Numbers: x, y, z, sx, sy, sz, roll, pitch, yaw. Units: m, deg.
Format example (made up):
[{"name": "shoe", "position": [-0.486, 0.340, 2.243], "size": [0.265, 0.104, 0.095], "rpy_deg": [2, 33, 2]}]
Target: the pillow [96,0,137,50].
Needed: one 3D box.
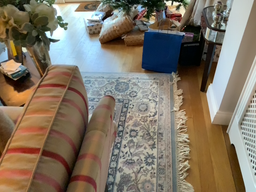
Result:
[{"name": "pillow", "position": [-0.160, -0.920, 2.750], "size": [0.240, 0.450, 0.490], "rpy_deg": [-48, 35, 38]}]
